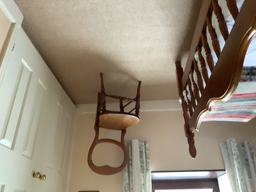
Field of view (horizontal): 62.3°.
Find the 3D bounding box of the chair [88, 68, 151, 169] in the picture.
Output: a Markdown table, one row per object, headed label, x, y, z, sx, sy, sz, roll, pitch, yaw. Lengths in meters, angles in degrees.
| label | x | y | z | sx | sy | sz | roll | pitch | yaw |
| --- | --- | --- | --- | --- | --- | --- | --- | --- | --- |
| chair | -0.110 | 0.240 | 2.070 | 0.450 | 0.800 | 0.550 | 6 | 151 | -12 |
